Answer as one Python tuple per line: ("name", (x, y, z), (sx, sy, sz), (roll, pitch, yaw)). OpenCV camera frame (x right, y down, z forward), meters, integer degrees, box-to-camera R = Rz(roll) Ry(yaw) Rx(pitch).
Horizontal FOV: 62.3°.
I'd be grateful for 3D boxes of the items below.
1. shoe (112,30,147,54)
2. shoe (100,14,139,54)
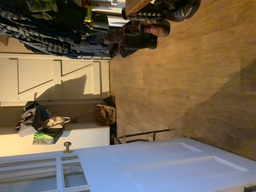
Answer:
("shoe", (0.010, -0.610, 2.460), (0.310, 0.330, 0.210), (-166, 75, -70))
("shoe", (-0.140, -0.800, 2.860), (0.570, 0.370, 0.420), (-160, 70, -69))
